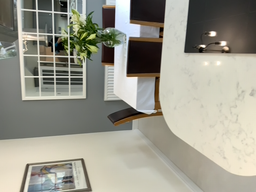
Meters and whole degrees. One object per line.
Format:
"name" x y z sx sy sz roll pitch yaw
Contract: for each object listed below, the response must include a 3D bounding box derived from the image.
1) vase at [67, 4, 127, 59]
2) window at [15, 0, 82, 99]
"vase" -0.360 -0.690 2.410 0.400 0.600 0.480 -168 78 -70
"window" -1.230 -0.990 3.380 0.130 0.970 2.070 -156 66 -69
